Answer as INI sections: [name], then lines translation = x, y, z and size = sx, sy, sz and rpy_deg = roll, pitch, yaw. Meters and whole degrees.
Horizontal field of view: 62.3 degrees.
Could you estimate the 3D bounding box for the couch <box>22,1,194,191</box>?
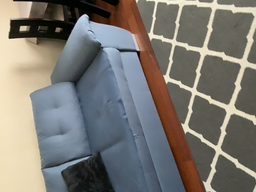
[couch]
translation = -0.190, 0.850, 1.820
size = 1.190, 0.830, 2.910
rpy_deg = -37, 64, 50
